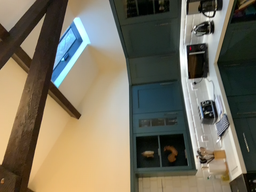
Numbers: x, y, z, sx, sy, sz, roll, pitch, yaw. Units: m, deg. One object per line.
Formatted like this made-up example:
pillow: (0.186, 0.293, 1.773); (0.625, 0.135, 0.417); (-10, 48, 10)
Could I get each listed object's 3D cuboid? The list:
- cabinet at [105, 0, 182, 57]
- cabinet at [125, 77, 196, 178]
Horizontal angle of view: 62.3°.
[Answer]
cabinet: (0.210, -1.140, 2.640); (1.440, 0.850, 0.360); (71, -164, -59)
cabinet: (0.410, 0.420, 3.070); (0.340, 0.850, 1.360); (71, -165, -58)
